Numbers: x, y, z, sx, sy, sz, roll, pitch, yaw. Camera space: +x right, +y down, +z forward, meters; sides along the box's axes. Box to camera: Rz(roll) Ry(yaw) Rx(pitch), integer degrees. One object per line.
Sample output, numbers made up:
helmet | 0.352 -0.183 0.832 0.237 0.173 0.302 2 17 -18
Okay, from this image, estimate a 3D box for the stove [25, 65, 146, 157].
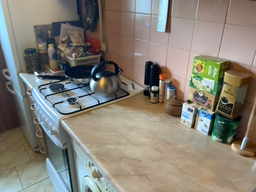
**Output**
stove | -0.290 0.040 1.470 0.620 0.270 0.530 -18 32 -34
